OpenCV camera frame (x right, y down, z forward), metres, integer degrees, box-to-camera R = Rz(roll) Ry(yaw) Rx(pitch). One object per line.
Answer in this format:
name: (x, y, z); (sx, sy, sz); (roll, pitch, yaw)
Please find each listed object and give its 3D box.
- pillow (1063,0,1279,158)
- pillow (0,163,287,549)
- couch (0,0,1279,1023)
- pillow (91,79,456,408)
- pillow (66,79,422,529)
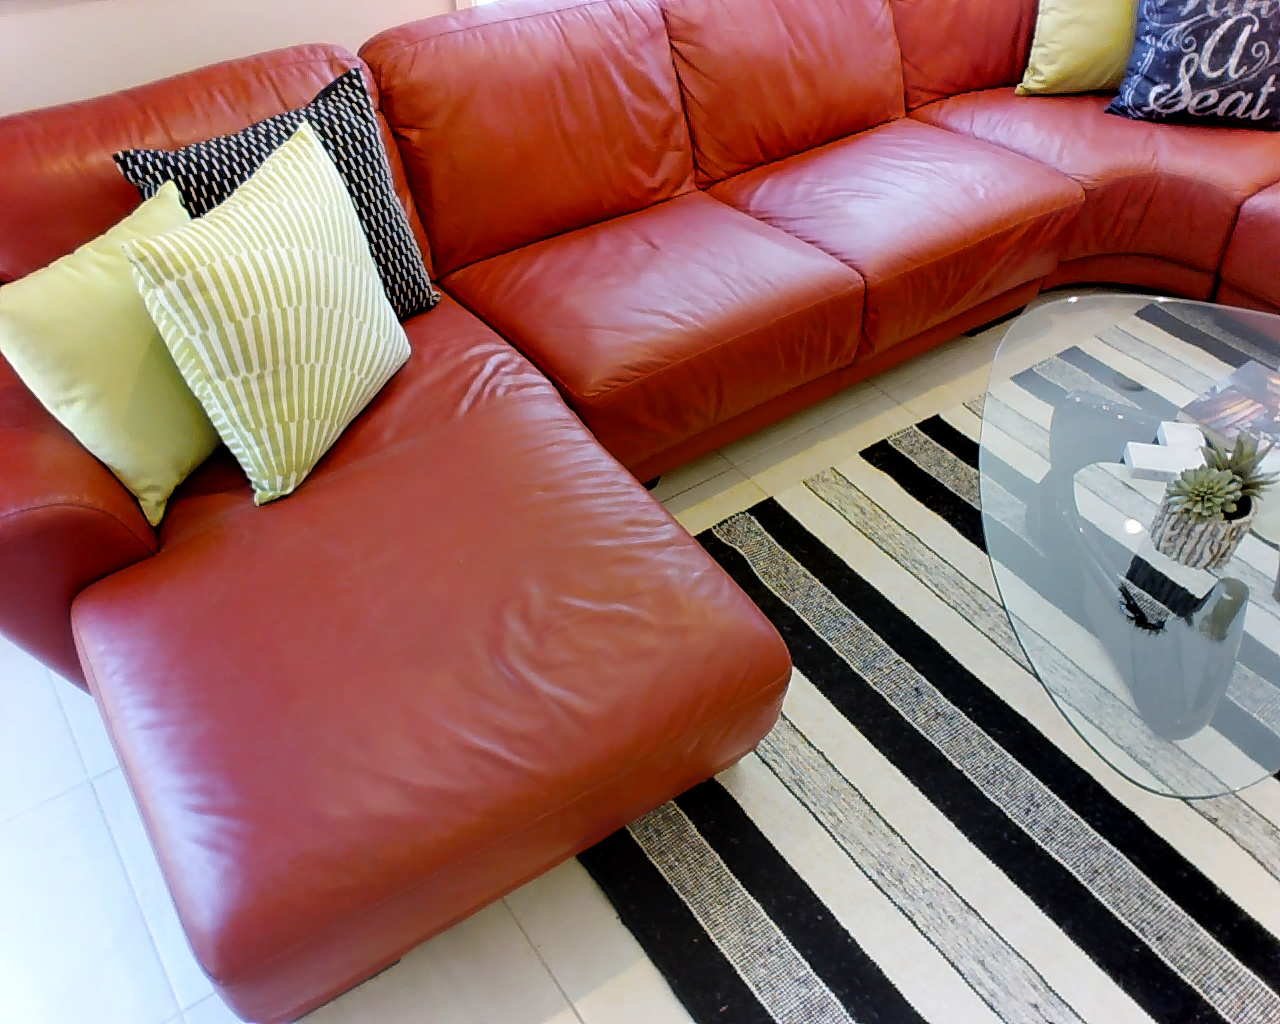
pillow: (1.400, -1.190, 2.640); (0.480, 0.440, 0.290); (15, 33, 0)
pillow: (-0.800, -0.260, 1.690); (0.310, 0.390, 0.450); (14, 35, 0)
couch: (0.790, -0.210, 1.930); (3.780, 0.800, 2.960); (-27, 50, -25)
pillow: (-0.660, -0.510, 1.970); (0.520, 0.460, 0.300); (-17, 45, -35)
pillow: (-0.580, -0.350, 1.700); (0.280, 0.460, 0.570); (13, 36, 0)
